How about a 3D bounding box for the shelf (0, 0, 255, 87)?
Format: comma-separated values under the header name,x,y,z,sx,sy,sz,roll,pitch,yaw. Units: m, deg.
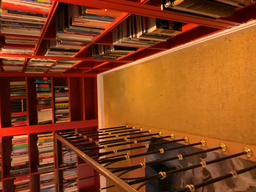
name,x,y,z,sx,sy,sz,roll,pitch,yaw
shelf,-0.490,-0.490,1.570,3.690,2.060,0.460,-7,86,61
